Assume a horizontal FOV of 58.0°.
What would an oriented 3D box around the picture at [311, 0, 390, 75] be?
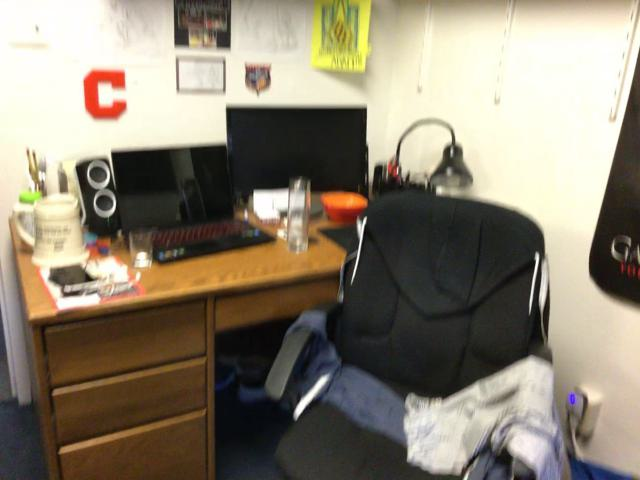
[{"bbox_3d":[0.120,-0.820,2.260,0.280,0.320,0.100,-8,23,-30],"label":"picture"}]
